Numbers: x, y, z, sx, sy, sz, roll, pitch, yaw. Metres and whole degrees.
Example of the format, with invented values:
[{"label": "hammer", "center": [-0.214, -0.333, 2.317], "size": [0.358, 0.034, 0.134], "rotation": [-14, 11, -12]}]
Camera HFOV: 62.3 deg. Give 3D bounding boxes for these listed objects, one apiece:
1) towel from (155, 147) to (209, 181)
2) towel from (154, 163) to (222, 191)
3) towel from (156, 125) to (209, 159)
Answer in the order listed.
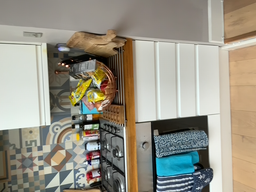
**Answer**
[{"label": "towel", "center": [0.340, 0.420, 1.330], "size": [0.100, 0.340, 0.120], "rotation": [0, 93, 64]}, {"label": "towel", "center": [0.400, 0.580, 1.380], "size": [0.090, 0.480, 0.180], "rotation": [-2, 91, 64]}, {"label": "towel", "center": [0.360, 0.290, 1.370], "size": [0.050, 0.390, 0.150], "rotation": [3, 95, 64]}]
